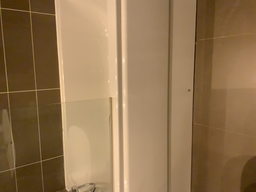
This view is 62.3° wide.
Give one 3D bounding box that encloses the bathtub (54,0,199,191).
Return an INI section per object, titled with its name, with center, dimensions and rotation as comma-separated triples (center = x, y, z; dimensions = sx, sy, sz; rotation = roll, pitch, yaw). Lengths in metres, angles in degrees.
[bathtub]
center = -0.030, -0.040, 1.330
dimensions = 0.690, 0.550, 1.490
rotation = 9, 104, 51
